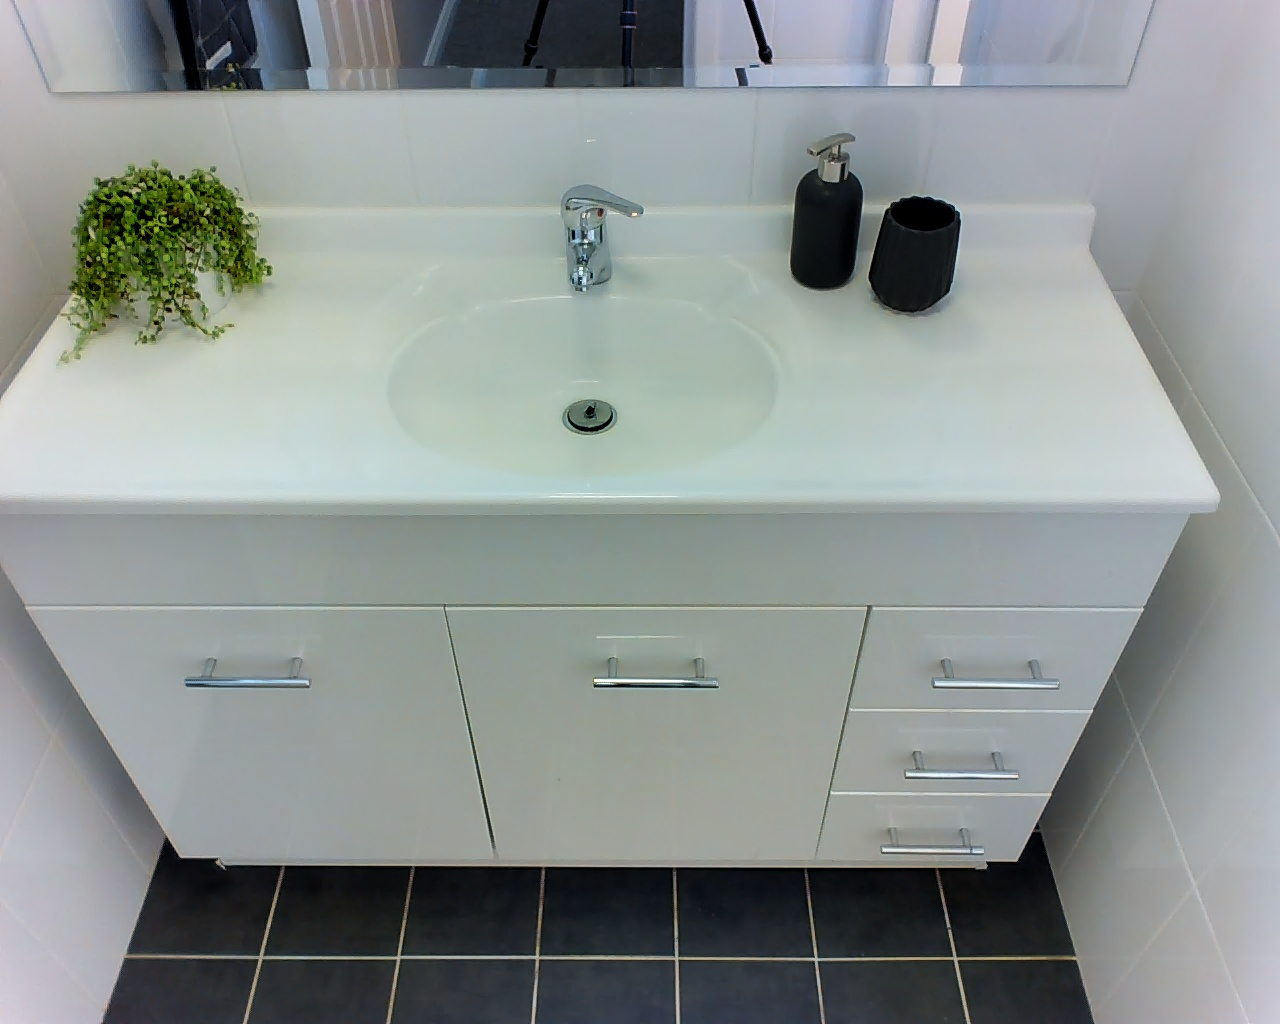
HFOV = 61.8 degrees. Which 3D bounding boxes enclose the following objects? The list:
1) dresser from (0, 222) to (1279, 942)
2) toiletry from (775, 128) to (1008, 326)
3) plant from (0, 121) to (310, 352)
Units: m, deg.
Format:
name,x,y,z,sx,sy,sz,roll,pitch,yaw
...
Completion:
name,x,y,z,sx,sy,sz,roll,pitch,yaw
dresser,-0.050,0.140,1.430,1.270,0.900,0.470,0,45,1
toiletry,0.270,-0.320,1.200,0.210,0.150,0.170,0,45,1
plant,-0.530,-0.310,1.200,0.240,0.170,0.200,-1,45,0
